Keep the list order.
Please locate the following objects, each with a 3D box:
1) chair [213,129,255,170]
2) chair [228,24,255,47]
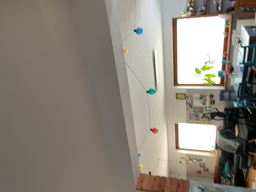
[{"bbox_3d":[2.930,1.410,5.690,0.770,1.100,0.630,-64,-29,-53],"label":"chair"},{"bbox_3d":[2.920,-1.460,5.070,0.490,0.890,0.440,-57,-35,-59],"label":"chair"}]
